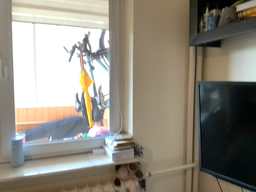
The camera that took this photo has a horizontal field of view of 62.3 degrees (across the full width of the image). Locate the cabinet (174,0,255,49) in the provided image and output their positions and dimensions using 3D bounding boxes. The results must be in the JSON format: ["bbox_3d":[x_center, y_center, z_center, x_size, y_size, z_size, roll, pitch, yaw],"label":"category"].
[{"bbox_3d":[0.780,-0.580,1.260,0.340,0.410,1.240,-1,4,-22],"label":"cabinet"}]
